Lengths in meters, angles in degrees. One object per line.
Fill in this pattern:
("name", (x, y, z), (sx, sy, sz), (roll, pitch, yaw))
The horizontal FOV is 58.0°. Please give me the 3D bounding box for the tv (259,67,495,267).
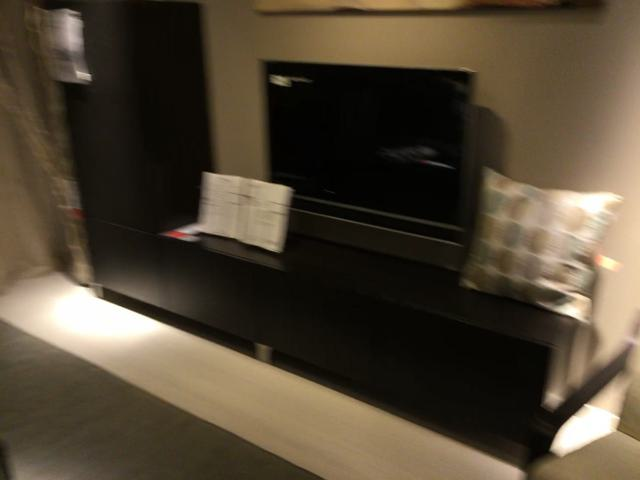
("tv", (0.180, -0.330, 2.340), (0.920, 0.670, 0.200), (13, 21, 30))
